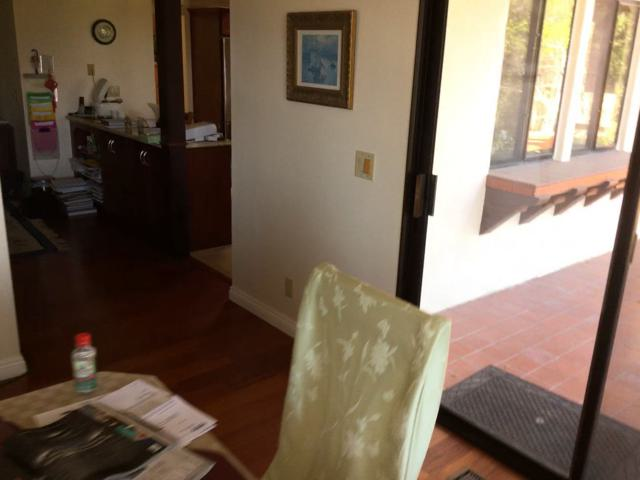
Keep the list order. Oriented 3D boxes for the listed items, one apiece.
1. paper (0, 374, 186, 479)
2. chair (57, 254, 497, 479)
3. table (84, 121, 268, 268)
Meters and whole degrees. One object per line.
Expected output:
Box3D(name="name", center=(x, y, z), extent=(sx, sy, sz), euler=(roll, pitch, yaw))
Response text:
Box3D(name="paper", center=(-0.510, 0.410, 1.170), extent=(0.270, 0.050, 0.380), euler=(16, 19, 34))
Box3D(name="chair", center=(-0.130, 0.670, 1.270), extent=(0.650, 1.090, 0.560), euler=(-8, 20, -38))
Box3D(name="table", center=(-1.340, -0.500, 5.080), extent=(0.840, 0.870, 1.820), euler=(-8, 20, -38))
